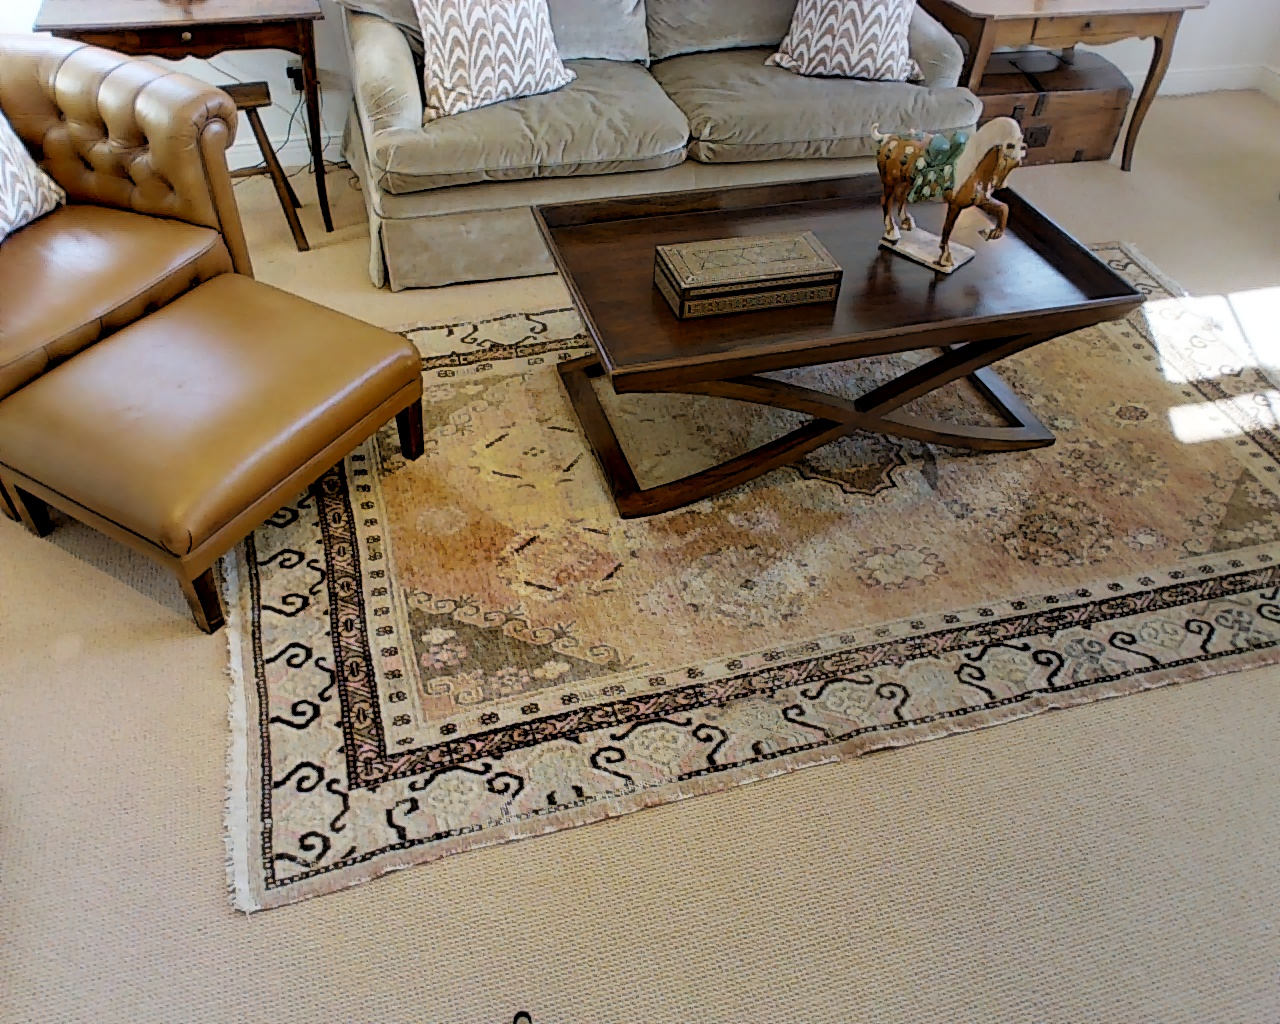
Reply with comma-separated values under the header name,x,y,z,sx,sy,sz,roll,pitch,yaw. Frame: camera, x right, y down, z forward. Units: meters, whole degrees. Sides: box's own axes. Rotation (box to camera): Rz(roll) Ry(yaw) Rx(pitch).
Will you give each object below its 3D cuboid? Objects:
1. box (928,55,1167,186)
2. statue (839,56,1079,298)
name,x,y,z,sx,sy,sz,roll,pitch,yaw
box,1.450,-1.410,3.860,0.700,0.290,0.310,-11,44,-15
statue,0.700,-0.770,2.450,0.290,0.360,0.430,-9,43,-12
